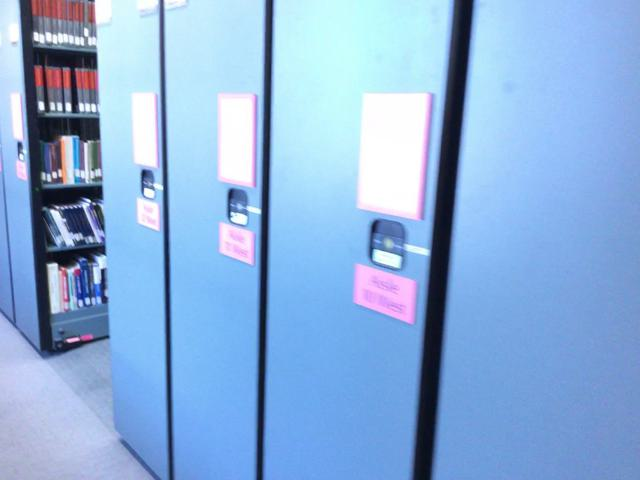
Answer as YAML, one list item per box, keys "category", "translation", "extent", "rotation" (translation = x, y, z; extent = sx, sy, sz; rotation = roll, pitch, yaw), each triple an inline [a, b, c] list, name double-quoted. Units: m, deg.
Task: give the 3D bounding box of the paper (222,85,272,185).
- category: "paper"
  translation: [-0.190, -0.270, 1.480]
  extent: [0.020, 0.240, 0.180]
  rotation: [-6, 13, -41]

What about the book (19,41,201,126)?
- category: "book"
  translation: [-1.120, -0.840, 3.200]
  extent: [0.950, 0.350, 0.140]
  rotation: [-6, 13, -41]

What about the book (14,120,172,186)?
- category: "book"
  translation: [-1.270, -0.490, 3.290]
  extent: [0.780, 0.330, 0.290]
  rotation: [-6, 13, -41]

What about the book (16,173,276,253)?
- category: "book"
  translation: [-1.010, -0.210, 3.610]
  extent: [1.510, 0.380, 0.410]
  rotation: [-6, 13, -41]

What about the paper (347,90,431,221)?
- category: "paper"
  translation: [0.130, -0.170, 1.140]
  extent: [0.020, 0.240, 0.180]
  rotation: [-6, 13, -41]

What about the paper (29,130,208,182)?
- category: "paper"
  translation: [-1.130, -0.480, 3.350]
  extent: [0.960, 0.260, 0.220]
  rotation: [-6, 13, -41]

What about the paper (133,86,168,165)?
- category: "paper"
  translation: [-0.550, -0.370, 1.870]
  extent: [0.030, 0.240, 0.190]
  rotation: [-6, 13, -41]
